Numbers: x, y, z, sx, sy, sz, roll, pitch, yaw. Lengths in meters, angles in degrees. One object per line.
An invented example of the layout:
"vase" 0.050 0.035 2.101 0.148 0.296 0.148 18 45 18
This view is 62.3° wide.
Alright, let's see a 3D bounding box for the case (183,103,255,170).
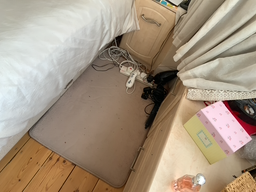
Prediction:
"case" 0.330 0.140 0.760 0.160 0.120 0.170 -10 61 -26
